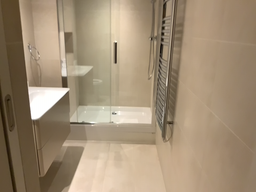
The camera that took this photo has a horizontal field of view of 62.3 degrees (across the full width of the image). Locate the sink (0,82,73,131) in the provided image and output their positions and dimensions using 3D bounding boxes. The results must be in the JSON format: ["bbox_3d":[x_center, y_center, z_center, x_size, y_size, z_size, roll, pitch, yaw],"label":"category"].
[{"bbox_3d":[-0.800,0.050,1.850,0.450,0.140,0.840,1,17,-2],"label":"sink"}]
